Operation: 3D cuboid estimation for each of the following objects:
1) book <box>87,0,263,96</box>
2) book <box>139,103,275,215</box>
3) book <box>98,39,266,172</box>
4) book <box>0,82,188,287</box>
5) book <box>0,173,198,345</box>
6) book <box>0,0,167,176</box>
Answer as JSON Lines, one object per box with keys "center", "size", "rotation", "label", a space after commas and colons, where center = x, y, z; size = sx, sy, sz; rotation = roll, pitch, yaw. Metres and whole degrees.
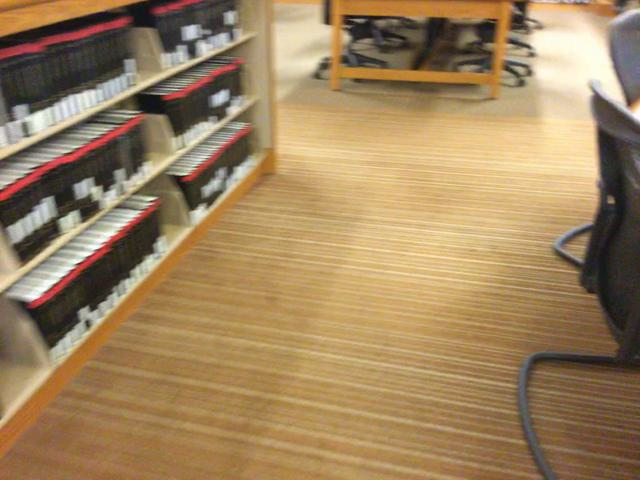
{"center": [-0.560, -0.920, 2.480], "size": [0.280, 0.330, 0.890], "rotation": [5, 33, 17], "label": "book"}
{"center": [-0.500, -0.420, 2.770], "size": [0.260, 0.200, 0.850], "rotation": [5, 33, 17], "label": "book"}
{"center": [-0.570, -0.650, 2.640], "size": [0.290, 0.300, 0.930], "rotation": [5, 33, 17], "label": "book"}
{"center": [-0.840, -0.240, 1.910], "size": [0.380, 0.310, 0.860], "rotation": [5, 33, 17], "label": "book"}
{"center": [-0.740, 0.020, 1.970], "size": [0.300, 0.190, 0.740], "rotation": [5, 33, 17], "label": "book"}
{"center": [-0.790, -0.510, 1.710], "size": [0.220, 0.310, 0.810], "rotation": [5, 33, 17], "label": "book"}
